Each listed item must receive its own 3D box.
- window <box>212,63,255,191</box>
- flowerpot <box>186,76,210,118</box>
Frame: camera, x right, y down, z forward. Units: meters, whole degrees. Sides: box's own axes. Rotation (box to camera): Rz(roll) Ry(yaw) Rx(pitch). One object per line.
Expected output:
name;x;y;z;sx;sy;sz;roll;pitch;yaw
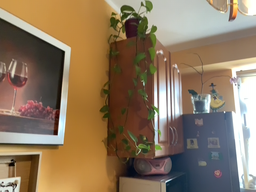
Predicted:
window;1.330;0.280;1.840;1.040;1.180;0.180;-6;-13;29
flowerpot;0.610;0.020;1.840;0.150;0.330;0.160;-6;-13;31
